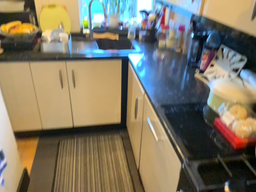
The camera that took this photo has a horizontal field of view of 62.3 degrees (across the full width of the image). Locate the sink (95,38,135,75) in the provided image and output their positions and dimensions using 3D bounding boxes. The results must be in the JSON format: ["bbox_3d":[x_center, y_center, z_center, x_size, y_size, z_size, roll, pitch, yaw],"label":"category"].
[{"bbox_3d":[-0.150,-0.430,2.230,0.350,0.220,0.470,-4,31,-10],"label":"sink"}]
